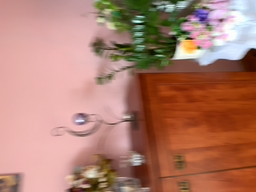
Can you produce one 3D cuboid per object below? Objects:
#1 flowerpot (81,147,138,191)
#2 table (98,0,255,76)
[{"bbox_3d":[-0.120,0.550,1.300,0.230,0.310,0.400,113,152,-63],"label":"flowerpot"},{"bbox_3d":[0.520,-0.540,1.390,0.540,1.360,0.600,116,149,-65],"label":"table"}]
